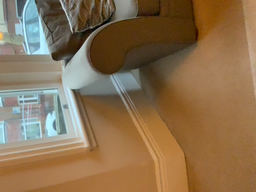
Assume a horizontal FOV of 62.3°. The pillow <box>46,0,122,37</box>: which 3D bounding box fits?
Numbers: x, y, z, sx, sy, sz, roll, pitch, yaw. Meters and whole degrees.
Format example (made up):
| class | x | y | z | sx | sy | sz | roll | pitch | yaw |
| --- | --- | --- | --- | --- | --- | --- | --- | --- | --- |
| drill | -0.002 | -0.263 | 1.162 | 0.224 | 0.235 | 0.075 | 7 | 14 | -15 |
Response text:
| class | x | y | z | sx | sy | sz | roll | pitch | yaw |
| --- | --- | --- | --- | --- | --- | --- | --- | --- | --- |
| pillow | -0.310 | -0.690 | 1.560 | 0.360 | 0.400 | 0.110 | 43 | 148 | -2 |
